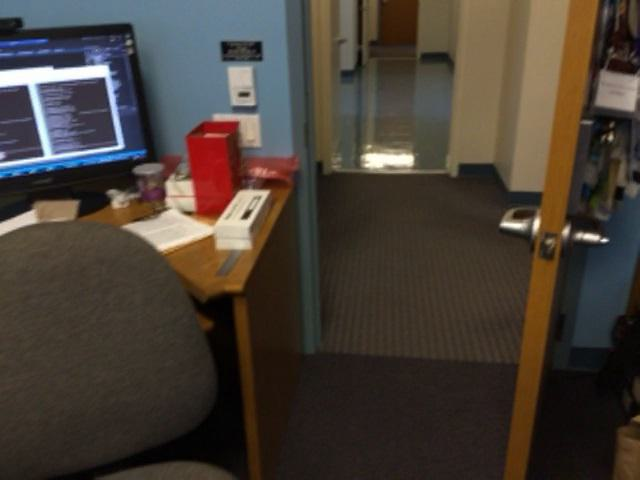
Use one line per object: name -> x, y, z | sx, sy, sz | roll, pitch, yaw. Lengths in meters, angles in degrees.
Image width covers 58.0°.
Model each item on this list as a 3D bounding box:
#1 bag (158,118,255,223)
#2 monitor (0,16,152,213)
bag -> -0.330, -0.220, 1.750 | 0.200, 0.240, 0.290 | 3, 23, 6
monitor -> -0.850, -0.370, 1.660 | 0.620, 0.500, 0.260 | -11, 25, -26
